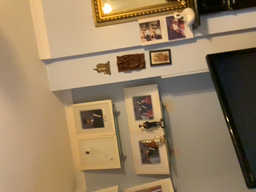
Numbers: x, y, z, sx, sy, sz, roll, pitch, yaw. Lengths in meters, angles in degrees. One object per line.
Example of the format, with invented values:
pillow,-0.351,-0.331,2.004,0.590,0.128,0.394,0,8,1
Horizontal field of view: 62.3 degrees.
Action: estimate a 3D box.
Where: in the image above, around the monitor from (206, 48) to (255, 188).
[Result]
monitor,0.910,0.060,1.330,0.040,0.600,0.890,73,-170,-61
